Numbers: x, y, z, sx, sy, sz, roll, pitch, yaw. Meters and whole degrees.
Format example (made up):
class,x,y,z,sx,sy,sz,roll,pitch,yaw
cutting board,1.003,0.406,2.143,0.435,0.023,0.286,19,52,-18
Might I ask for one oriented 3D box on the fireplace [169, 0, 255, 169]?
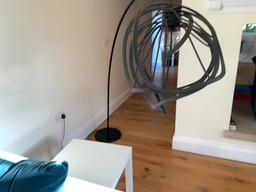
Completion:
class,x,y,z,sx,sy,sz,roll,pitch,yaw
fireplace,1.640,-0.170,2.200,2.170,1.610,1.000,6,22,20
